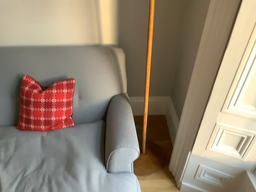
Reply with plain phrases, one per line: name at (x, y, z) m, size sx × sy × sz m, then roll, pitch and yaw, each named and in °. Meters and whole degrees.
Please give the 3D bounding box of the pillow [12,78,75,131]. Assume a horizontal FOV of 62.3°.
pillow at (-0.540, 0.050, 1.390) m, size 0.340 × 0.310 × 0.170 m, roll 2°, pitch 8°, yaw -1°
